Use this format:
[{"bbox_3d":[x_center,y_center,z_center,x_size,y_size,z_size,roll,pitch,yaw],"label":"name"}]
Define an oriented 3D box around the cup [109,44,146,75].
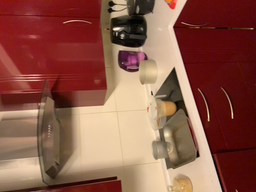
[{"bbox_3d":[-0.010,-0.340,2.000,0.180,0.290,0.220,116,149,-63],"label":"cup"}]
